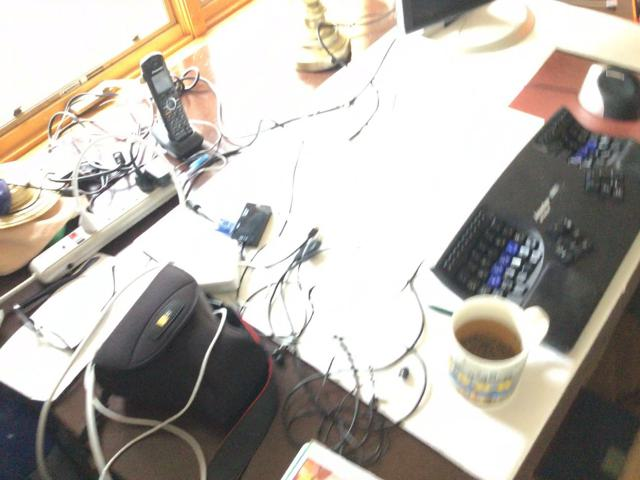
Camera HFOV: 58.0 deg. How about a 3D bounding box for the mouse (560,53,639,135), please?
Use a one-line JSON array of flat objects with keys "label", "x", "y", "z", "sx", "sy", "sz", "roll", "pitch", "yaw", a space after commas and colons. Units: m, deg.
[{"label": "mouse", "x": 0.480, "y": -0.250, "z": 0.990, "sx": 0.090, "sy": 0.090, "sz": 0.070, "roll": 29, "pitch": 61, "yaw": 25}]
